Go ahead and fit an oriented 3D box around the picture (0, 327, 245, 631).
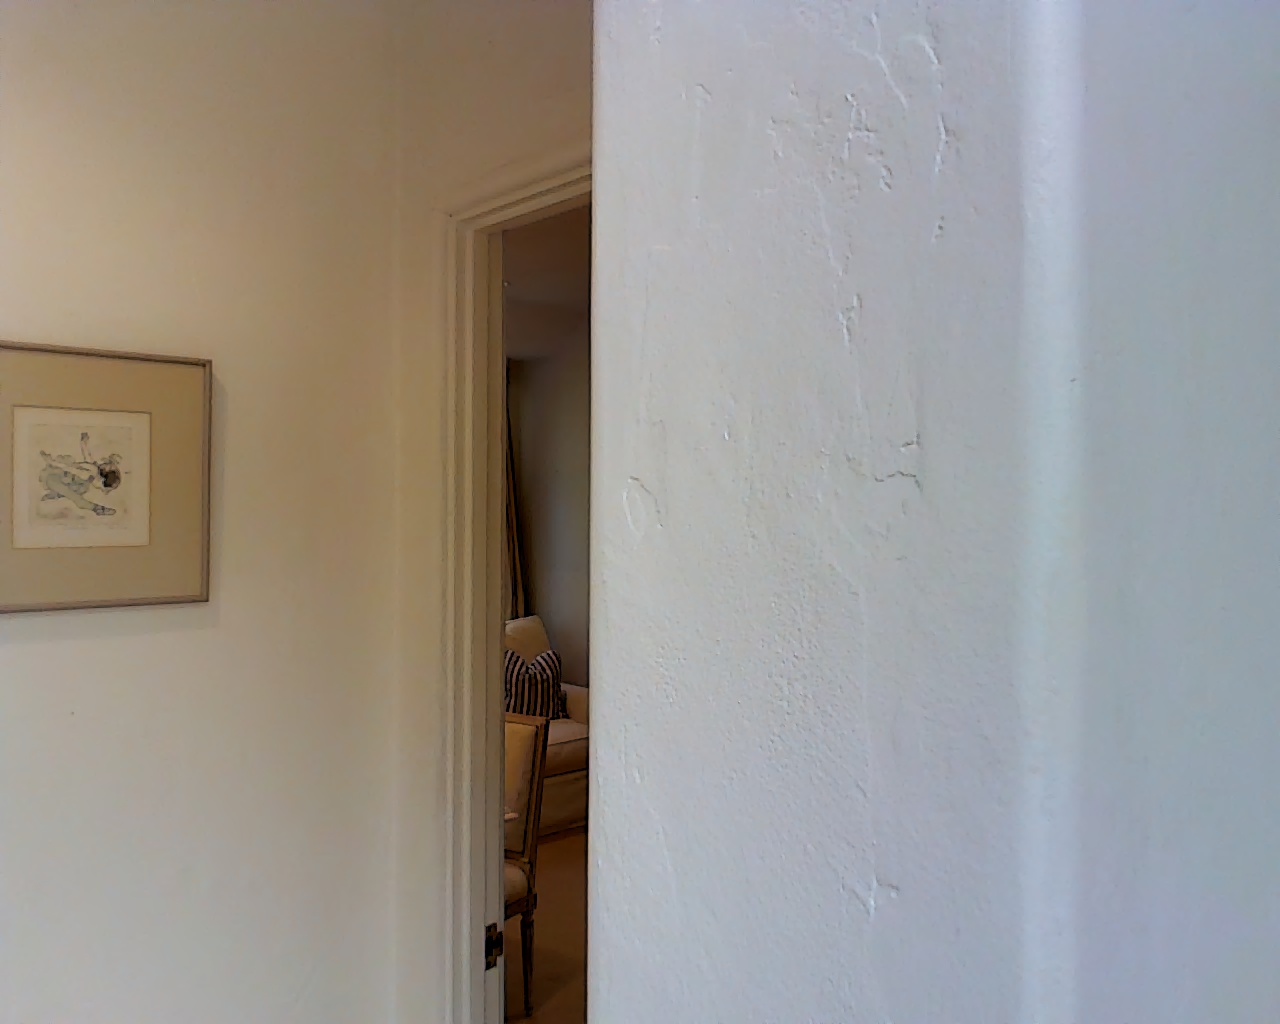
[{"bbox_3d":[-0.700,-0.040,1.400,0.360,0.370,0.030,0,0,-42],"label":"picture"}]
